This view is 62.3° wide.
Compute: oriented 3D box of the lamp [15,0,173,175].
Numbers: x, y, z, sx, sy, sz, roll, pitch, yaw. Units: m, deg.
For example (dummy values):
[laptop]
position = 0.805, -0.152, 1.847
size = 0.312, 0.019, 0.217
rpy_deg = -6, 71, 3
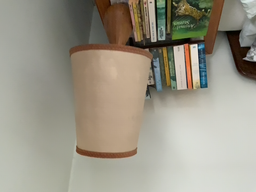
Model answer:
[lamp]
position = -0.050, -0.060, 0.740
size = 0.340, 0.570, 0.370
rpy_deg = -4, 150, 8
